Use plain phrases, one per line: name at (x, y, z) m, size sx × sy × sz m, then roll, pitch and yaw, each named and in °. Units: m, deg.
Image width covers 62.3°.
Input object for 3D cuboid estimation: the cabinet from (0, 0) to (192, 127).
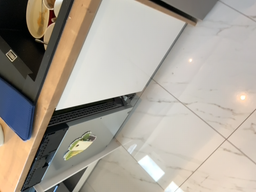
cabinet at (-0.180, -0.340, 1.160) m, size 0.590 × 0.890 × 0.550 m, roll 42°, pitch 118°, yaw 20°
